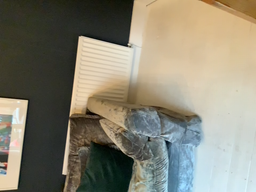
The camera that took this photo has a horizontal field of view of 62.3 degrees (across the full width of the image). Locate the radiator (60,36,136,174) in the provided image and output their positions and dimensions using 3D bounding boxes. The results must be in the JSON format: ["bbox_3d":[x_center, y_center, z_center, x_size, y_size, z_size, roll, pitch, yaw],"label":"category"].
[{"bbox_3d":[-0.340,0.140,2.540,0.100,0.740,1.530,12,96,61],"label":"radiator"}]
